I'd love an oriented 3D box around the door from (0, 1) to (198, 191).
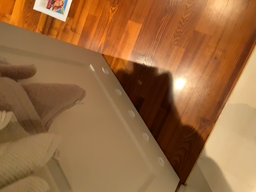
[{"bbox_3d":[-0.310,0.140,0.270,0.090,2.190,0.950,-36,79,20],"label":"door"}]
